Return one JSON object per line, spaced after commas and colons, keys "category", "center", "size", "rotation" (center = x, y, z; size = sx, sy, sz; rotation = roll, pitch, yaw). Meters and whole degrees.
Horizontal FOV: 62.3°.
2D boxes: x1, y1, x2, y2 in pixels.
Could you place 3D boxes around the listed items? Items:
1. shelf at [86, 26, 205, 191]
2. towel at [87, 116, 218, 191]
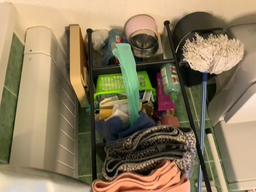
{"category": "shelf", "center": [0.080, 0.510, 0.920], "size": [0.410, 1.670, 0.460], "rotation": [-6, 154, -1]}
{"category": "towel", "center": [0.070, 0.370, 0.930], "size": [0.380, 0.320, 0.630], "rotation": [-5, 154, -2]}
